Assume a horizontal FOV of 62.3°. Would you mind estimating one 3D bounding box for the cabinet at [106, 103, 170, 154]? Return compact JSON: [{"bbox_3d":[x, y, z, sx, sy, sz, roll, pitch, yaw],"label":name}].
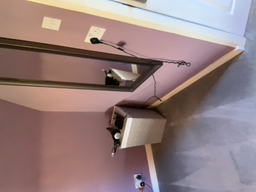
[{"bbox_3d":[0.100,0.360,2.460,0.400,0.530,0.420,41,122,56],"label":"cabinet"}]
